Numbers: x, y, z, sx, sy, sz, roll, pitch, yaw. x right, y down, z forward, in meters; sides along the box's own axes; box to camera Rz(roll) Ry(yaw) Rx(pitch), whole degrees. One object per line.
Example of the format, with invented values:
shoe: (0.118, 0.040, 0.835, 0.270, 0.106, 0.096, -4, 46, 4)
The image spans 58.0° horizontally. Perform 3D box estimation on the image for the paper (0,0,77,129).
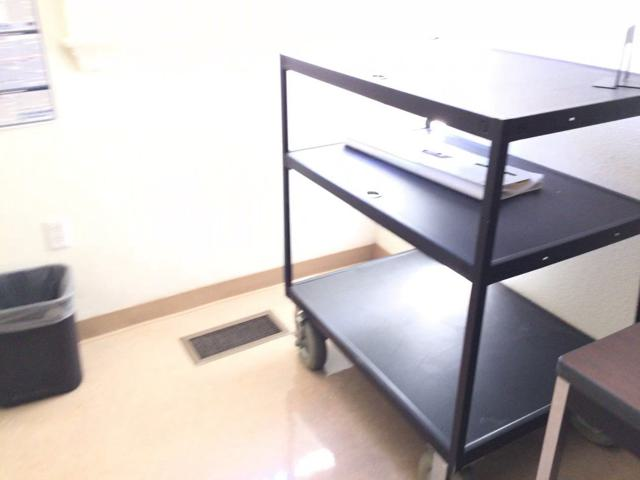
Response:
paper: (-1.110, -0.540, 1.660, 0.700, 0.460, 0.050, -13, 25, -29)

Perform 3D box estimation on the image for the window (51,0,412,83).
window: (-0.270, -0.770, 2.100, 1.230, 0.280, 0.370, -13, 25, -29)

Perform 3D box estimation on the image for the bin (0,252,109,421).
bin: (-0.960, 0.310, 1.940, 0.370, 0.390, 0.310, -13, 25, -29)
